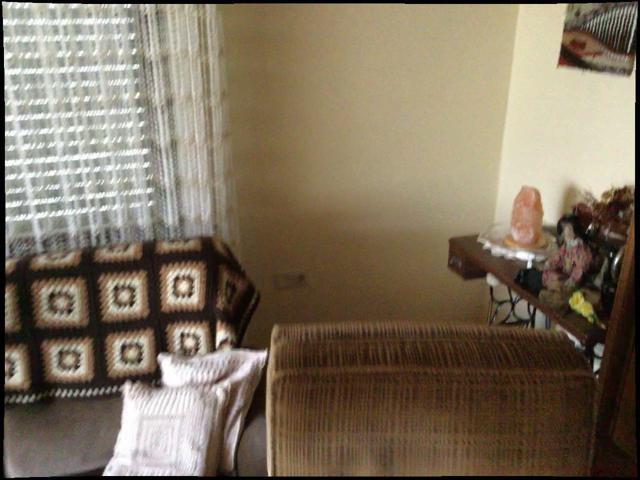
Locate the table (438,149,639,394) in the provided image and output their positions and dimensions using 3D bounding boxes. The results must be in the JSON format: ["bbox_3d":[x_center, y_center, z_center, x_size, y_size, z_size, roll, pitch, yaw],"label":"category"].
[{"bbox_3d":[0.829,0.030,1.870,0.520,0.420,0.800,-7,25,-17],"label":"table"}]
